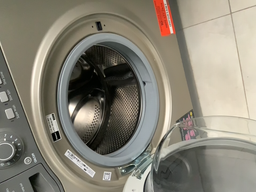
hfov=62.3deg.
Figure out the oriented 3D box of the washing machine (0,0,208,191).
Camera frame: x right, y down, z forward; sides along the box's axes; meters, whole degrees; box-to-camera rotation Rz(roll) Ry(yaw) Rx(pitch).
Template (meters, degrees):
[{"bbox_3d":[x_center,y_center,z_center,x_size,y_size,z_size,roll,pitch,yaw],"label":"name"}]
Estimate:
[{"bbox_3d":[-0.210,0.020,0.810,0.590,0.900,0.600,-5,106,44],"label":"washing machine"}]
